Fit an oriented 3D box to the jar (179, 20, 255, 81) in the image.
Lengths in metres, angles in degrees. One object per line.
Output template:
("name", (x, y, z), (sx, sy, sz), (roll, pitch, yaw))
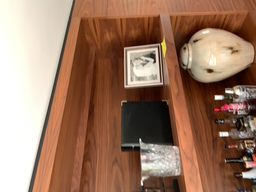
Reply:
("jar", (0.670, -0.330, 1.560), (0.270, 0.490, 0.330), (87, -178, -58))
